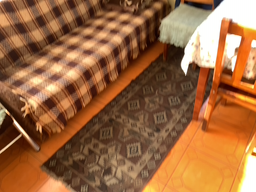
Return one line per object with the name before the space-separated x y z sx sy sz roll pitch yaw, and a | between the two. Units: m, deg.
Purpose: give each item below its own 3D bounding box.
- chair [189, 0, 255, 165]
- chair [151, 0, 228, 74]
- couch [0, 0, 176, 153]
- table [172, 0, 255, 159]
chair | 0.730 -0.100 1.300 0.380 0.870 0.560 25 52 28
chair | 0.600 -0.810 2.050 0.480 0.860 0.660 25 52 28
couch | -0.430 -0.670 2.050 0.990 0.820 2.040 23 51 26
table | 1.030 -0.330 1.590 0.800 0.760 1.330 24 52 27
